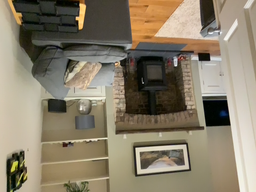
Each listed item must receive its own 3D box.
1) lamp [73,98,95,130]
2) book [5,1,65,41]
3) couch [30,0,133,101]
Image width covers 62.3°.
[{"bbox_3d":[-0.800,0.330,3.800,0.350,0.530,0.360,0,170,-17],"label":"lamp"},{"bbox_3d":[-0.710,-0.580,1.700,0.380,0.080,0.420,-1,170,-15],"label":"book"},{"bbox_3d":[-0.580,-0.520,2.760,0.940,0.930,1.470,-1,170,-12],"label":"couch"}]
